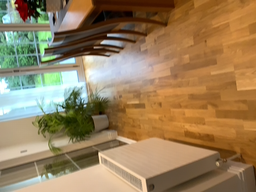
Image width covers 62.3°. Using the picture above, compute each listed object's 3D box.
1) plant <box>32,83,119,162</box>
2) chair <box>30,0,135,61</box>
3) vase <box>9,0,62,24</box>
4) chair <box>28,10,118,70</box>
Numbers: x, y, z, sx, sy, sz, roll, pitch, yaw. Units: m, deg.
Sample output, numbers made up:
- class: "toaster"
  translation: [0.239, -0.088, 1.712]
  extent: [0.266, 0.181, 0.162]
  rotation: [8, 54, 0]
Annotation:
- class: "plant"
  translation: [-0.920, 0.320, 3.530]
  extent: [1.200, 1.030, 0.920]
  rotation: [5, 103, 62]
- class: "chair"
  translation: [-0.510, -0.790, 2.450]
  extent: [0.470, 1.020, 0.620]
  rotation: [-1, 97, 63]
- class: "vase"
  translation: [-0.980, -0.970, 2.230]
  extent: [0.320, 0.460, 0.330]
  rotation: [2, 101, 62]
- class: "chair"
  translation: [-0.740, -0.750, 2.890]
  extent: [0.470, 1.020, 0.630]
  rotation: [-1, 97, 63]
